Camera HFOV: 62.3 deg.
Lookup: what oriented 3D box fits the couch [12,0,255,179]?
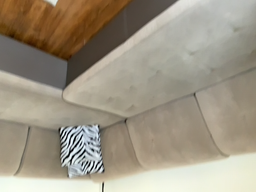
[{"bbox_3d":[0.120,0.050,1.670,1.080,0.890,2.570,18,147,-37],"label":"couch"}]

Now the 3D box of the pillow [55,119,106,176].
[{"bbox_3d":[-0.470,0.500,2.100,0.420,0.420,0.210,-11,140,-11],"label":"pillow"}]

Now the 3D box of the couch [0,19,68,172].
[{"bbox_3d":[-1.120,0.060,1.620,0.850,0.840,1.030,18,147,-36],"label":"couch"}]
